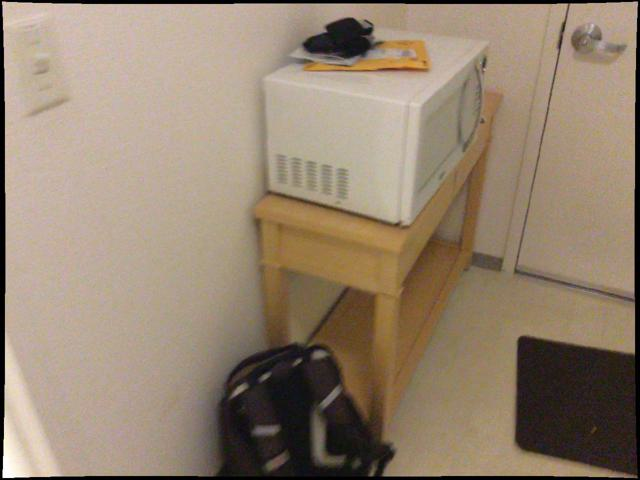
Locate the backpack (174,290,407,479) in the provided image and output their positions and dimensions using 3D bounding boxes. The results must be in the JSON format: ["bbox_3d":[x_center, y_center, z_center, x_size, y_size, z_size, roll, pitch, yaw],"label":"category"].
[{"bbox_3d":[-0.050,0.470,1.480,0.390,0.430,0.430,15,36,22],"label":"backpack"}]
